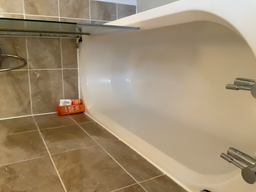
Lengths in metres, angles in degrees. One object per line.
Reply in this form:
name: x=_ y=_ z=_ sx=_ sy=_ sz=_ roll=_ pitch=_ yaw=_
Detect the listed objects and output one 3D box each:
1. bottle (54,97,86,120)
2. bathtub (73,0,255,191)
bottle: x=-0.480 y=0.100 z=1.760 sx=0.090 sy=0.220 sz=0.140 roll=-57 pitch=48 yaw=48
bathtub: x=0.220 y=-0.110 z=1.250 sx=1.650 sy=0.590 sz=0.700 roll=17 pitch=111 yaw=58
